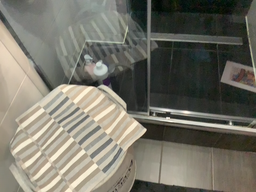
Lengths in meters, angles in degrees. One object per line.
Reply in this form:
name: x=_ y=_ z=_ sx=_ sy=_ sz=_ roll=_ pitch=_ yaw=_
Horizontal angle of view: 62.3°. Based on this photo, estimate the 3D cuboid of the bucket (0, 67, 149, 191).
bucket: x=-0.190 y=0.290 z=1.050 sx=0.480 sy=0.590 sz=0.550 roll=10 pitch=59 yaw=11
